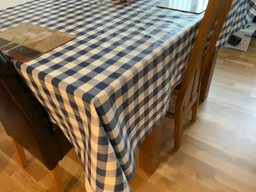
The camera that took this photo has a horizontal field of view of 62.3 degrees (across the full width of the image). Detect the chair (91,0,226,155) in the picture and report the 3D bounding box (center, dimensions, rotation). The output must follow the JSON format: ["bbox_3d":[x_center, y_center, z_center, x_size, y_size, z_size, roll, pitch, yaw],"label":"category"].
[{"bbox_3d":[0.160,-0.210,1.250,0.540,0.990,0.380,24,46,29],"label":"chair"}]
